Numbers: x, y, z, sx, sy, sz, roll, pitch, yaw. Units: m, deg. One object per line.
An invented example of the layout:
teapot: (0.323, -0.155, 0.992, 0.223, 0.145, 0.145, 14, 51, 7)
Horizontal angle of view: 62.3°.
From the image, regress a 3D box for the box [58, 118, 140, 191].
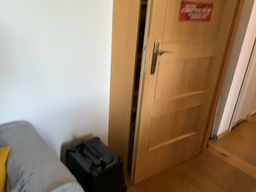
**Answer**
box: (-0.240, 0.520, 1.700, 0.430, 0.420, 0.470, -17, 32, -40)
